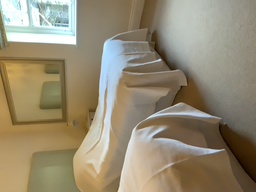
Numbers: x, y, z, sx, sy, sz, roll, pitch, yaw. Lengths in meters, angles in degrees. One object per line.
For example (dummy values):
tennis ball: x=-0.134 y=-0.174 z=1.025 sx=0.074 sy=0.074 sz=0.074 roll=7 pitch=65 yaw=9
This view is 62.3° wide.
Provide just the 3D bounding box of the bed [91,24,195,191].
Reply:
bed: x=-0.040 y=0.340 z=2.760 sx=1.130 sy=0.610 sz=2.110 roll=-112 pitch=26 yaw=-48
